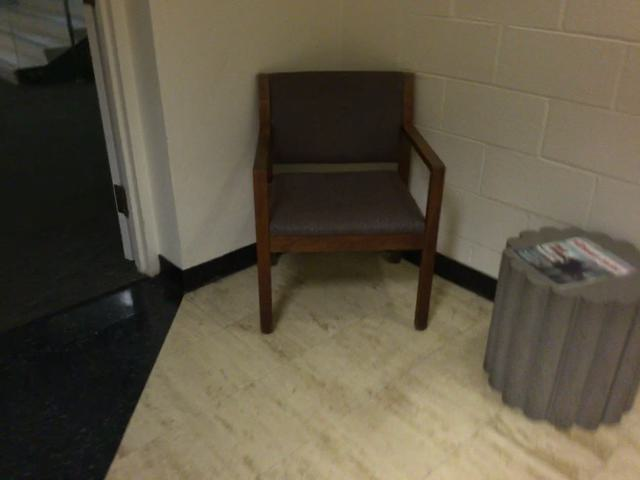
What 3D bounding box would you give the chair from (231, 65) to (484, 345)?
[{"bbox_3d":[0.090,-0.170,2.190,0.740,0.840,0.740,0,25,-2],"label":"chair"}]
